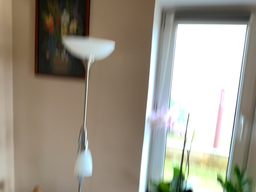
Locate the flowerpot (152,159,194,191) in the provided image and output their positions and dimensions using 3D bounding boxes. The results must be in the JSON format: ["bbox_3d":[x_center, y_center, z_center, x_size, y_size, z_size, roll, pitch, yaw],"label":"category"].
[{"bbox_3d":[0.290,0.630,1.380,0.210,0.310,0.250,7,9,23],"label":"flowerpot"}]
